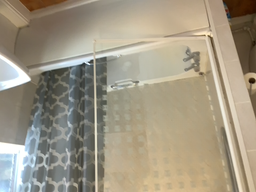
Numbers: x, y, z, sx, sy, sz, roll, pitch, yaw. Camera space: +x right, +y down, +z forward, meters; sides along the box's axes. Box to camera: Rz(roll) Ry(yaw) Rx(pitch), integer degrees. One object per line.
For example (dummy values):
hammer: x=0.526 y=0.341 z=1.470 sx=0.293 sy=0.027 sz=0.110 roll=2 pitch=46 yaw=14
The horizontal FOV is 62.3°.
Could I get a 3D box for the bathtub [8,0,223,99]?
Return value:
bathtub: x=-0.100 y=-0.460 z=1.870 sx=1.540 sy=0.570 sz=0.700 roll=-8 pitch=160 yaw=12
